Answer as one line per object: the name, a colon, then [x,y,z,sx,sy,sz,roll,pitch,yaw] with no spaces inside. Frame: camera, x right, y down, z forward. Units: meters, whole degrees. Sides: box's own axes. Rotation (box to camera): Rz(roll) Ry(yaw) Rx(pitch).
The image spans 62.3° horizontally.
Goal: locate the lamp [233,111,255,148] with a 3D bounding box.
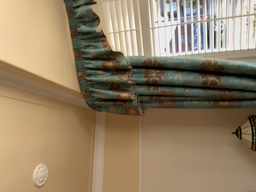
lamp: [1.220,0.320,1.940,0.470,0.370,0.300,35,-125,-69]
